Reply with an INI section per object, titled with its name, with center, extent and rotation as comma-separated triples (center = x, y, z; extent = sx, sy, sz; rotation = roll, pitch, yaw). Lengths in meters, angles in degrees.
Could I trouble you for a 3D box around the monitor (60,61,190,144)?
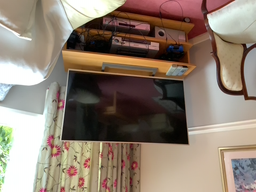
[monitor]
center = 0.010, 0.060, 1.890
extent = 1.100, 0.660, 0.050
rotation = 5, 159, -11
